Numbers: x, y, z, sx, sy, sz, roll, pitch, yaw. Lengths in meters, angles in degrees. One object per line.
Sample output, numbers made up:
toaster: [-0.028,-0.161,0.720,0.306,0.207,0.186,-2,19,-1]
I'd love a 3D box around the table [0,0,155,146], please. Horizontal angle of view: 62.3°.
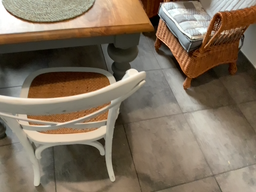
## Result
table: [-0.610,-0.700,1.540,0.910,0.790,1.800,-9,55,-14]
